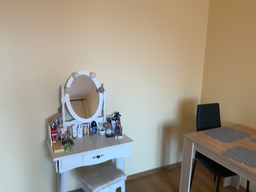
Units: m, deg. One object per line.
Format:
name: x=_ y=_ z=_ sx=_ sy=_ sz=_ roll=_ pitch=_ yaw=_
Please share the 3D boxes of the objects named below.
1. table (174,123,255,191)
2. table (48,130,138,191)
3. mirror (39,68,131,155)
table: x=1.130 y=0.840 z=1.810 sx=0.810 sy=0.760 sz=1.250 roll=-5 pitch=13 yaw=-27
table: x=-0.350 y=0.780 z=2.160 sx=0.790 sy=0.650 sz=0.380 roll=-5 pitch=13 yaw=-27
mirror: x=-0.400 y=0.100 z=2.060 sx=0.790 sy=0.710 sz=0.300 roll=-5 pitch=14 yaw=-28
